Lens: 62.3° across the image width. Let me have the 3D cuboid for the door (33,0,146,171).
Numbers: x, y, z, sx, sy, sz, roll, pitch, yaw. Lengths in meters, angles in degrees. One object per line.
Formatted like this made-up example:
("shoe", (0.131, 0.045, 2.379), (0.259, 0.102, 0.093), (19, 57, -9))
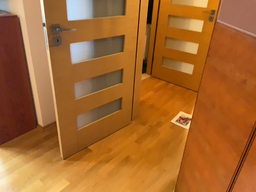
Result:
("door", (-0.230, -0.470, 1.660), (0.890, 2.250, 0.130), (-23, 38, -39))
